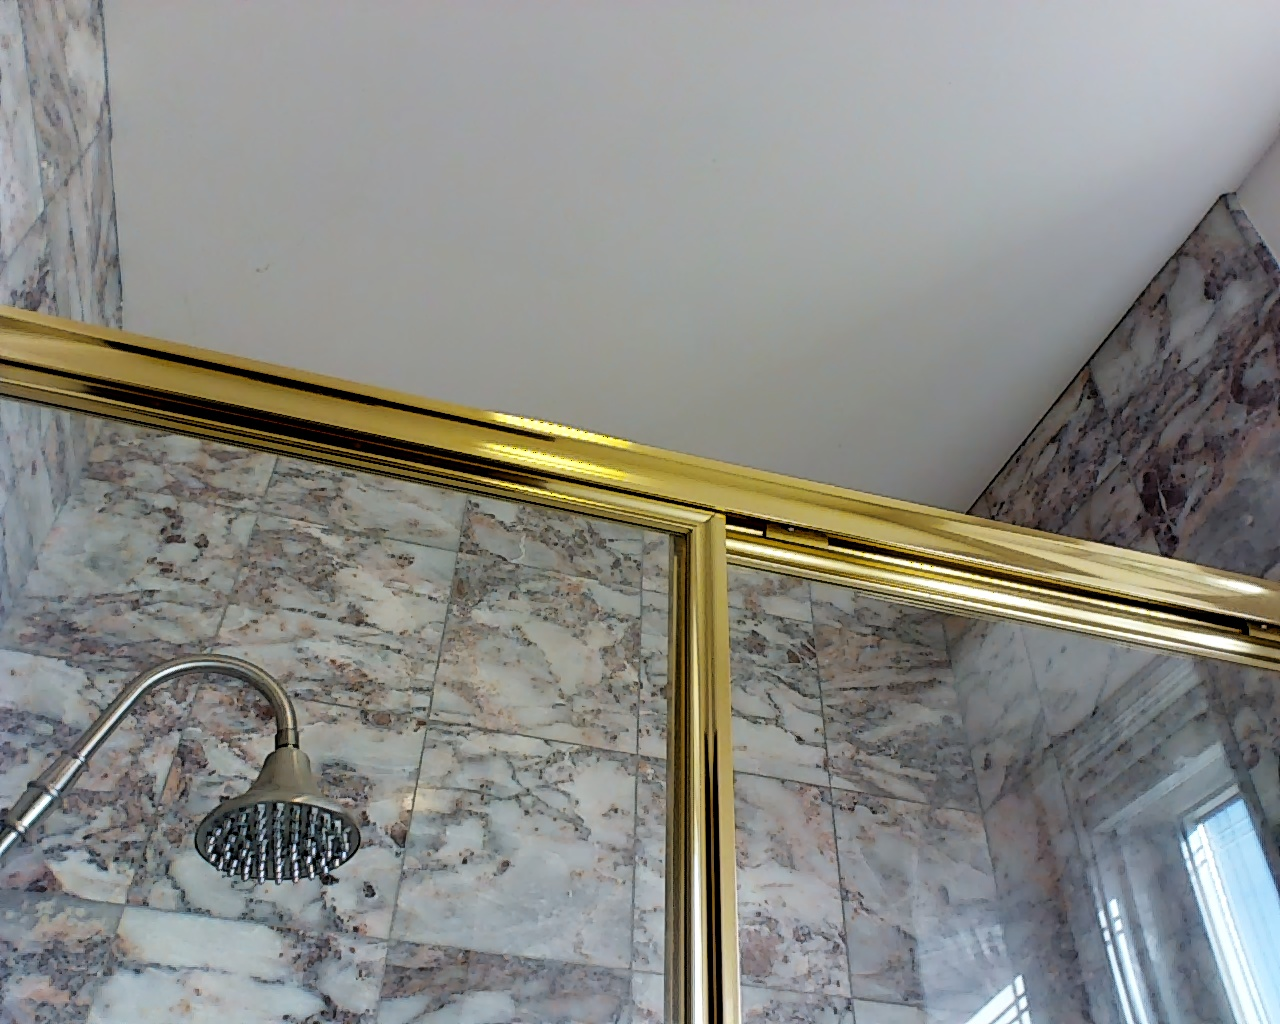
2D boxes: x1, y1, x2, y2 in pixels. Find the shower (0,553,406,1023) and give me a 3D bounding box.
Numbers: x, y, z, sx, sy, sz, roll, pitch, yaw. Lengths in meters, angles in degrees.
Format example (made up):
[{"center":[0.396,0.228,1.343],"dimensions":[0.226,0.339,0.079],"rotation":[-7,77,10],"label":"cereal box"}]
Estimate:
[{"center":[-0.500,0.250,0.990],"dimensions":[0.490,0.370,0.140],"rotation":[11,-43,-11],"label":"shower"}]
